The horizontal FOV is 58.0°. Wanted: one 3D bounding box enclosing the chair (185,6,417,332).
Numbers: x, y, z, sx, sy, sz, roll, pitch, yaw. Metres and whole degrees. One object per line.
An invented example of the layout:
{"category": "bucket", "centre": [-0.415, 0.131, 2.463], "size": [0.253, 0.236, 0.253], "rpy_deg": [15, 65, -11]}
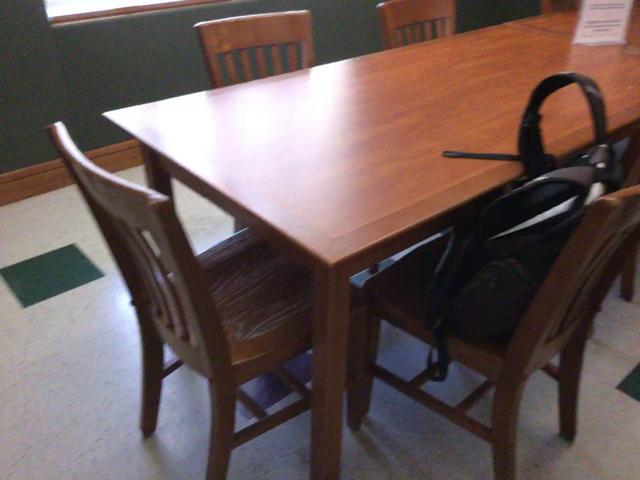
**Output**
{"category": "chair", "centre": [-0.080, -0.270, 2.010], "size": [0.470, 0.880, 0.610], "rpy_deg": [-19, 37, -26]}

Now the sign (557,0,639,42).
{"category": "sign", "centre": [1.070, -0.910, 2.160], "size": [0.270, 0.280, 0.130], "rpy_deg": [-10, 34, -15]}

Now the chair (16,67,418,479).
{"category": "chair", "centre": [-0.200, 0.150, 1.350], "size": [0.560, 0.880, 0.540], "rpy_deg": [-26, 41, -34]}

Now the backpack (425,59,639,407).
{"category": "backpack", "centre": [0.470, -0.040, 1.180], "size": [0.290, 0.510, 0.440], "rpy_deg": [21, 39, 30]}

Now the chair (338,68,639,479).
{"category": "chair", "centre": [0.430, 0.140, 1.370], "size": [0.470, 0.870, 0.620], "rpy_deg": [-26, 41, -34]}
